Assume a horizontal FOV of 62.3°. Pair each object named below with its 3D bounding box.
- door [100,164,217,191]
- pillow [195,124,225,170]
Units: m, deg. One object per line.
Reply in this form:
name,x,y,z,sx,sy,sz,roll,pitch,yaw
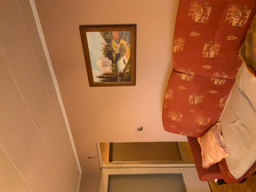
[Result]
door,0.550,1.670,3.980,0.830,2.120,0.060,-92,2,-53
pillow,0.970,0.610,2.560,0.340,0.150,0.430,91,178,-49
